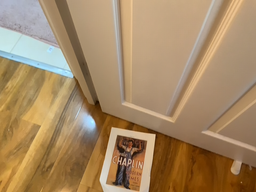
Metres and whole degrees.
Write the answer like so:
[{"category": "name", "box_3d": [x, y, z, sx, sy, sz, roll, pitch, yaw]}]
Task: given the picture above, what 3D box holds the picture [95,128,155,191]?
[{"category": "picture", "box_3d": [-0.010, 0.300, 0.910, 0.210, 0.010, 0.300, 9, 65, 5]}]
